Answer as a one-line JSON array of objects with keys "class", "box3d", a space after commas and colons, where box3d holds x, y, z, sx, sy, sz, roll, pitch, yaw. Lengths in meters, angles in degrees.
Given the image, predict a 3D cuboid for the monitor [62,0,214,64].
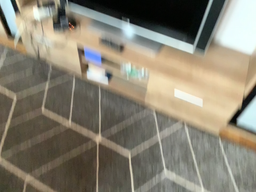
[{"class": "monitor", "box3d": [-0.010, -0.520, 1.100, 0.850, 0.510, 0.040, 24, 53, 14]}]
